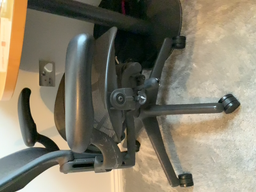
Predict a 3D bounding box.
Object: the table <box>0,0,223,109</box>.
[{"bbox_3d":[-0.180,-0.370,0.960,0.790,0.720,0.800,-12,79,54],"label":"table"}]
